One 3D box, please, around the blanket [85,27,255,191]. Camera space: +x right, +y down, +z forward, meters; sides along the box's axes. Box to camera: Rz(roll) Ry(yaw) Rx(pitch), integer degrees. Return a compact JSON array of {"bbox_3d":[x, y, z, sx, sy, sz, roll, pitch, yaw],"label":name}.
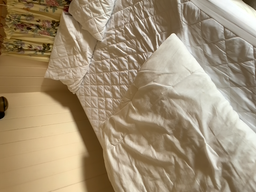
[{"bbox_3d":[0.150,0.330,1.190,0.790,0.210,1.090,59,135,30],"label":"blanket"}]
